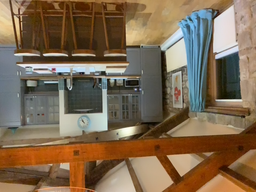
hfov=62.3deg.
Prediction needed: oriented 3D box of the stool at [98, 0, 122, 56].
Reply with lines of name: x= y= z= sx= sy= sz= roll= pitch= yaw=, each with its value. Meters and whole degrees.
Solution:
stool: x=-0.310 y=-1.120 z=3.520 sx=0.360 sy=0.830 sz=0.360 roll=-1 pitch=180 yaw=-7

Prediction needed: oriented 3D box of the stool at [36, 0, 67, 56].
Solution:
stool: x=-1.230 y=-1.100 z=3.450 sx=0.360 sy=0.830 sz=0.360 roll=-1 pitch=180 yaw=2

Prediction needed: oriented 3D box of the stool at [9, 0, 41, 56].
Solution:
stool: x=-1.650 y=-1.090 z=3.430 sx=0.360 sy=0.830 sz=0.360 roll=-1 pitch=180 yaw=-7
